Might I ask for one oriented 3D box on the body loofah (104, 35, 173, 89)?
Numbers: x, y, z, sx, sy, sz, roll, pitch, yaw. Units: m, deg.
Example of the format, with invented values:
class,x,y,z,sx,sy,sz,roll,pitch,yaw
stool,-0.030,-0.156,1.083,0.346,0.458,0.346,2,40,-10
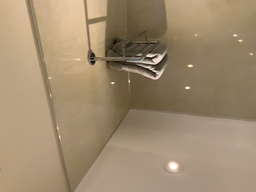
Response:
class,x,y,z,sx,sy,sz,roll,pitch,yaw
body loofah,0.090,-0.240,1.370,0.340,0.240,0.390,5,-155,18
